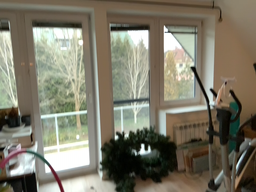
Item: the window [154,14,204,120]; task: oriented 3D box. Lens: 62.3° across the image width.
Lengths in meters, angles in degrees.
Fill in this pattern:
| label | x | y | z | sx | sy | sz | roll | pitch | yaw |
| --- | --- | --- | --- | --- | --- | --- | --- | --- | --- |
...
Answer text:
| label | x | y | z | sx | sy | sz | roll | pitch | yaw |
| --- | --- | --- | --- | --- | --- | --- | --- | --- | --- |
| window | 0.870 | -0.480 | 3.610 | 0.900 | 1.670 | 0.120 | -5 | 10 | -22 |
